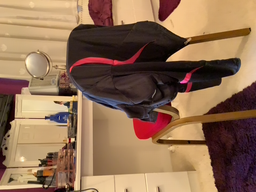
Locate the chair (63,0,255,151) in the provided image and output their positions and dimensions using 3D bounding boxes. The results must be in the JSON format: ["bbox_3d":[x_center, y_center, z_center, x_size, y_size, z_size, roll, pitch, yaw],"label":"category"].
[{"bbox_3d":[0.120,-0.040,1.090,0.580,0.840,0.480,119,149,-60],"label":"chair"}]

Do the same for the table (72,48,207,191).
[{"bbox_3d":[0.000,0.340,1.600,0.510,0.790,1.270,118,150,-58],"label":"table"}]
